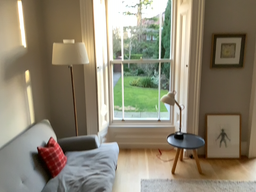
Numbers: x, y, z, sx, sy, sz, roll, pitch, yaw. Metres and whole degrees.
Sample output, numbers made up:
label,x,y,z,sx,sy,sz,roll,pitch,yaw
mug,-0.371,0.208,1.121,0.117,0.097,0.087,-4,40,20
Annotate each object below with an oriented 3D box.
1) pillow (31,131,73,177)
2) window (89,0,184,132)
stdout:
label,x,y,z,sx,sy,sz,roll,pitch,yaw
pillow,-0.850,0.650,2.430,0.150,0.310,0.420,-30,11,11
window,0.130,-0.580,3.340,1.340,2.280,0.340,0,12,1
